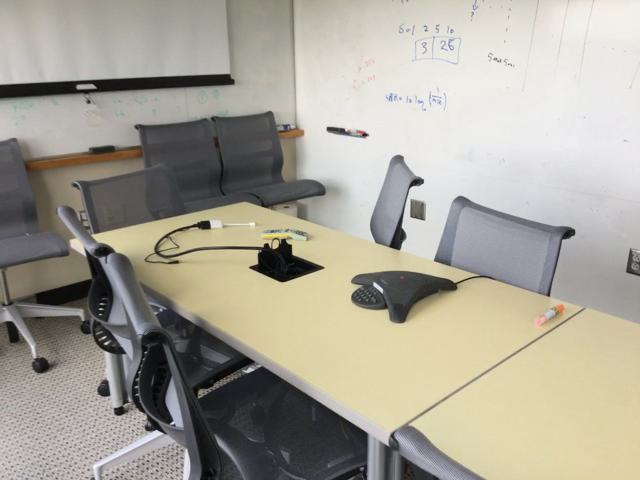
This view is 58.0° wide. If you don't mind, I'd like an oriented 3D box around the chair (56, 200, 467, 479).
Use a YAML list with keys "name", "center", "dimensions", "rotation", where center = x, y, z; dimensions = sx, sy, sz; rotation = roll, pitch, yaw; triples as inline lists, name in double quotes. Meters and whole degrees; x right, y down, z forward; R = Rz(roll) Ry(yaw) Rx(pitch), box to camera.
- name: "chair"
  center: [-0.170, 0.480, 1.440]
  dimensions: [0.720, 0.930, 0.720]
  rotation: [-11, 20, -22]

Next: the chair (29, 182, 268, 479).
- name: "chair"
  center: [-0.520, 0.360, 1.760]
  dimensions: [0.400, 0.920, 0.670]
  rotation: [-15, 22, -31]

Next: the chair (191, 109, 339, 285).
- name: "chair"
  center: [-0.320, -0.300, 3.530]
  dimensions: [0.610, 0.890, 0.580]
  rotation: [-18, 24, -37]

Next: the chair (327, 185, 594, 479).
- name: "chair"
  center: [0.390, 0.350, 1.870]
  dimensions: [0.360, 0.890, 0.750]
  rotation: [-13, 21, -28]

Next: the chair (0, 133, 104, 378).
- name: "chair"
  center: [-1.450, 0.040, 2.630]
  dimensions: [0.560, 0.930, 0.610]
  rotation: [-18, 24, -37]

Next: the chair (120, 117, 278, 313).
- name: "chair"
  center: [-0.670, -0.180, 3.270]
  dimensions: [0.580, 0.920, 0.550]
  rotation: [-18, 24, -37]

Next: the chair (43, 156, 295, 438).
- name: "chair"
  center: [-0.570, 0.160, 2.330]
  dimensions: [0.620, 0.840, 0.640]
  rotation: [13, 24, 38]
